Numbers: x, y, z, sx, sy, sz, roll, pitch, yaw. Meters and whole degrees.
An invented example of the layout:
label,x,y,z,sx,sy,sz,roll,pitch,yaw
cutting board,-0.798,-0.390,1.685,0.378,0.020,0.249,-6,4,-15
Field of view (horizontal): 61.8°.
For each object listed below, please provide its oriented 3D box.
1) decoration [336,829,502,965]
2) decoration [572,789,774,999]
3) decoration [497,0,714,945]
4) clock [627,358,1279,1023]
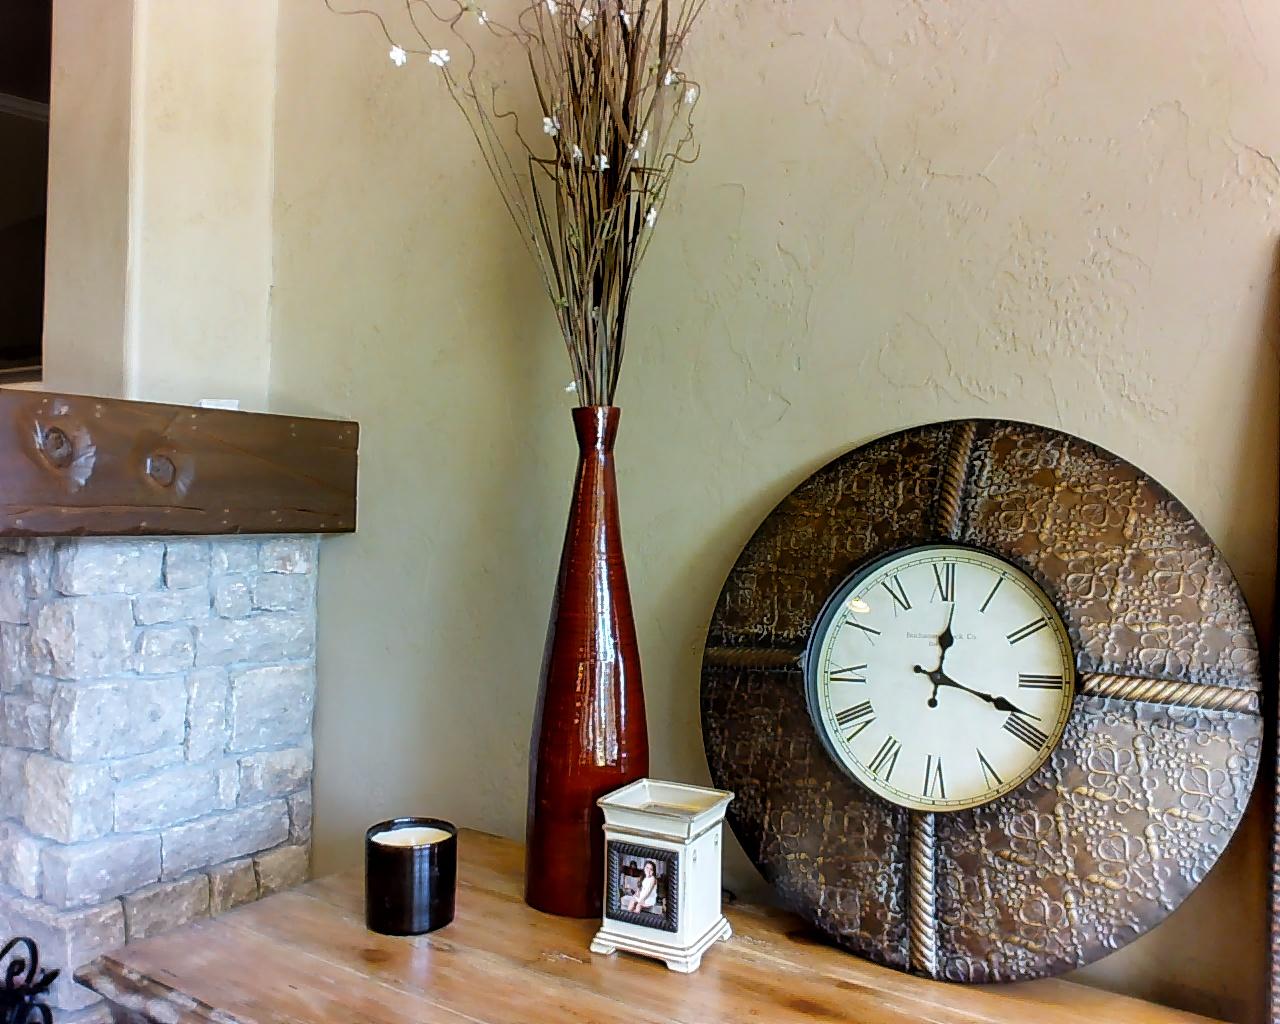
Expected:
label,x,y,z,sx,sy,sz,roll,pitch,yaw
decoration,-0.250,0.430,1.210,0.130,0.090,0.130,1,-1,41
decoration,0.040,0.410,1.180,0.150,0.150,0.180,1,-1,32
decoration,-0.040,-0.070,1.310,0.180,1.100,0.170,1,-1,34
clock,0.320,0.210,1.180,0.640,0.630,0.180,-7,-5,34
